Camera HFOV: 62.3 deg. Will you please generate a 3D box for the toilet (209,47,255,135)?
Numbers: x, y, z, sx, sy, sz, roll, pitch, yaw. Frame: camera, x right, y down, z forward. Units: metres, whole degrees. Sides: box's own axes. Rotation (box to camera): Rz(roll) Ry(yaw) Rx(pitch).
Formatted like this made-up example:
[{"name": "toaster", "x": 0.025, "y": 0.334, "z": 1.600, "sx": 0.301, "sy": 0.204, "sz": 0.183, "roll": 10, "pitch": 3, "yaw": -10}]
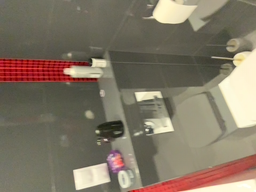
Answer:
[{"name": "toilet", "x": 0.780, "y": -0.060, "z": 1.140, "sx": 0.530, "sy": 0.240, "sz": 0.370, "roll": -45, "pitch": 54, "yaw": 52}]
